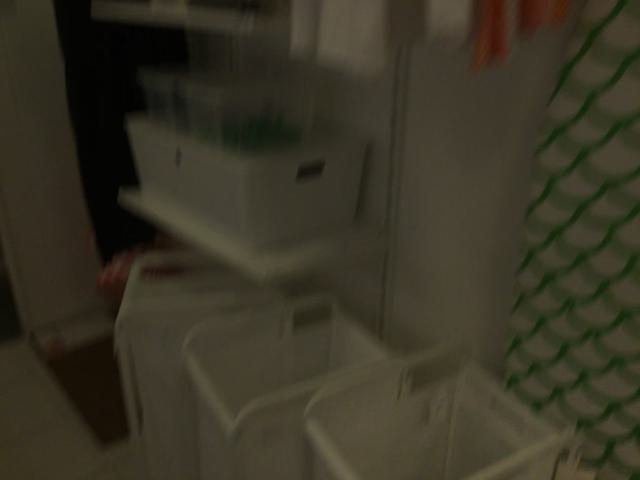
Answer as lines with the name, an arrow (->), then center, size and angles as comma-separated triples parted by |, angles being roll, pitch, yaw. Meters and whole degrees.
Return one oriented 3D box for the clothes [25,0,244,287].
clothes -> -0.500, -0.510, 1.590 | 0.450, 1.180, 0.280 | -21, 33, -38
